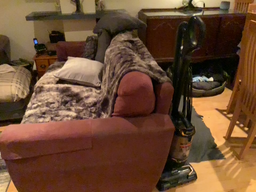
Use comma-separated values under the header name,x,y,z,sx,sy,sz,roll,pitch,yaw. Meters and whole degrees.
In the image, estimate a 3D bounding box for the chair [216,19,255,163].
name,x,y,z,sx,sy,sz,roll,pitch,yaw
chair,1.130,-0.020,1.670,0.520,1.060,0.400,-2,29,-2

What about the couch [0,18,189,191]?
name,x,y,z,sx,sy,sz,roll,pitch,yaw
couch,-0.350,-0.070,1.920,0.990,0.900,1.860,-5,29,-7
